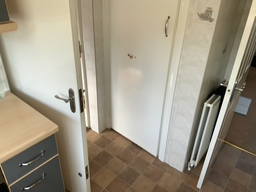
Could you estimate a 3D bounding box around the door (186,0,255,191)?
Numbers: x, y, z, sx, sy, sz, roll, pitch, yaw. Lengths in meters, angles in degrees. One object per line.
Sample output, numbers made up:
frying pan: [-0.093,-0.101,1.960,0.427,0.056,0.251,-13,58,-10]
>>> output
door: [0.870,-0.190,1.710,0.120,2.070,0.820,23,36,31]

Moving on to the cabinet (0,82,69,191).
cabinet: [-0.730,0.470,1.410,0.600,0.940,0.320,24,36,31]

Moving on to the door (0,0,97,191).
door: [-0.560,-0.120,1.380,0.710,2.060,0.100,18,34,24]
